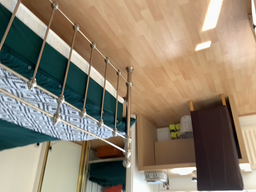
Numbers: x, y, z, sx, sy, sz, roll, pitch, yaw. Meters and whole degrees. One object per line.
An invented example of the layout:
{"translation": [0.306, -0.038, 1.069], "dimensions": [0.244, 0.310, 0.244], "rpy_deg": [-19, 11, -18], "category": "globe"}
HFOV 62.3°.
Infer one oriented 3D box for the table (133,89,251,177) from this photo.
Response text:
{"translation": [0.780, 0.550, 2.760], "dimensions": [1.250, 0.820, 0.660], "rpy_deg": [-13, 149, 25], "category": "table"}
